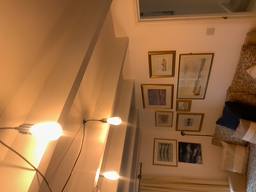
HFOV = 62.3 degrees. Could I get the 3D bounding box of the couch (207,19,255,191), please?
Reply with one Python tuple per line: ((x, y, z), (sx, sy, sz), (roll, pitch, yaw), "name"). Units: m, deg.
((1.720, 0.340, 2.780), (2.270, 0.810, 1.160), (81, -166, -47), "couch")
